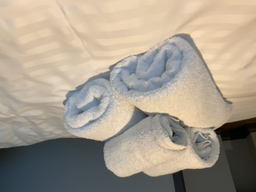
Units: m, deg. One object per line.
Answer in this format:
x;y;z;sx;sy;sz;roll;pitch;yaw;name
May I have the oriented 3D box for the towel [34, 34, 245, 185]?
0.060;0.110;0.610;0.410;0.200;0.420;-20;148;25;towel
